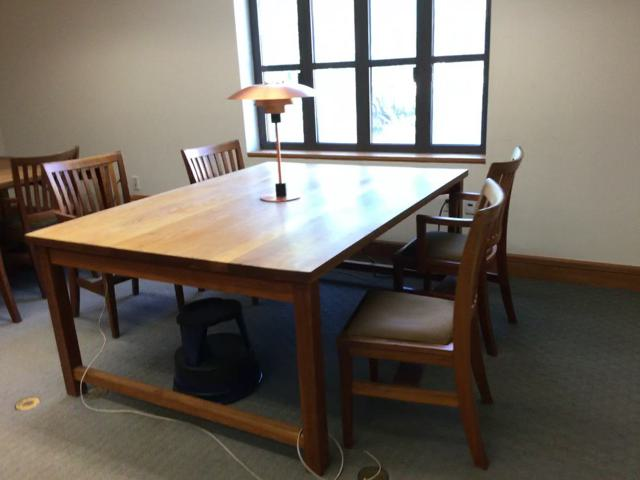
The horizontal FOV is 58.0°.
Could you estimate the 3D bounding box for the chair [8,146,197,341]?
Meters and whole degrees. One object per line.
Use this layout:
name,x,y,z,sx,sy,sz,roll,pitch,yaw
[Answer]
chair,-1.200,-0.030,3.300,0.620,0.910,0.650,7,19,27

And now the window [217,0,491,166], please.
window,0.190,-1.200,3.940,1.820,1.290,0.300,5,18,23

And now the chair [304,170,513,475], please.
chair,0.360,0.240,2.160,0.630,0.890,0.640,3,17,17

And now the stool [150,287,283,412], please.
stool,-0.450,0.470,2.600,0.410,0.360,0.390,5,18,23

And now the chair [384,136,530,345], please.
chair,0.700,-0.040,2.950,0.600,0.900,0.550,5,18,23
